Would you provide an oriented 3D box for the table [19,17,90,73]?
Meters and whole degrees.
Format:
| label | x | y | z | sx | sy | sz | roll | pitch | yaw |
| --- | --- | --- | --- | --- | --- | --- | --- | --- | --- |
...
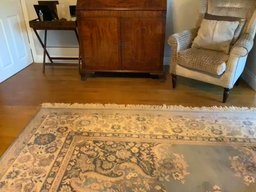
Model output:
| label | x | y | z | sx | sy | sz | roll | pitch | yaw |
| --- | --- | --- | --- | --- | --- | --- | --- | --- | --- |
| table | -0.980 | -0.730 | 3.000 | 0.740 | 0.670 | 0.450 | 1 | 29 | 3 |

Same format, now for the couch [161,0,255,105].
| label | x | y | z | sx | sy | sz | roll | pitch | yaw |
| --- | --- | --- | --- | --- | --- | --- | --- | --- | --- |
| couch | 0.980 | -0.610 | 2.470 | 0.720 | 0.970 | 0.920 | 22 | 36 | 34 |
